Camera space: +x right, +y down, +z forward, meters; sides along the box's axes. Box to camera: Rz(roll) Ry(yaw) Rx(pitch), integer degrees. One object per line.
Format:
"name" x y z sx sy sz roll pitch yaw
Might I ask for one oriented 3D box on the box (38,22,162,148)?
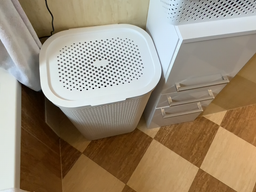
"box" -0.130 0.000 1.070 0.420 0.630 0.320 -8 64 -7
